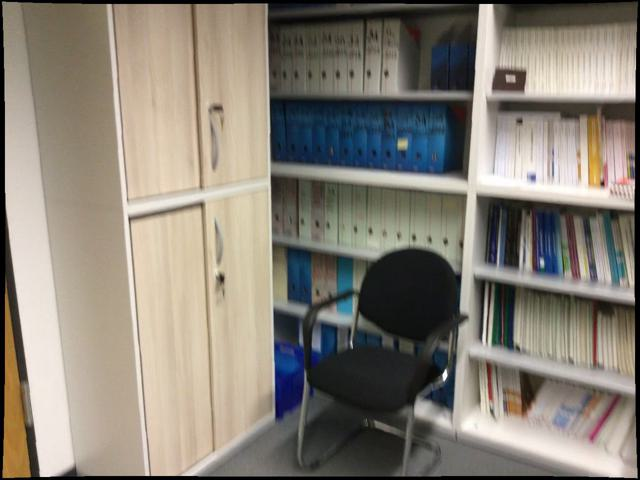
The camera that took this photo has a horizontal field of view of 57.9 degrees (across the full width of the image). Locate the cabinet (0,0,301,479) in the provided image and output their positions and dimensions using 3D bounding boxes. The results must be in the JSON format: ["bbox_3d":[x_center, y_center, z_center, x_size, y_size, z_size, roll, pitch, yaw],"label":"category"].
[{"bbox_3d":[-0.579,-0.210,2.300,0.530,2.302,0.920,9,18,31],"label":"cabinet"}]

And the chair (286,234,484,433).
[{"bbox_3d":[0.290,0.320,2.370,0.530,0.480,0.710,9,18,31],"label":"chair"}]
